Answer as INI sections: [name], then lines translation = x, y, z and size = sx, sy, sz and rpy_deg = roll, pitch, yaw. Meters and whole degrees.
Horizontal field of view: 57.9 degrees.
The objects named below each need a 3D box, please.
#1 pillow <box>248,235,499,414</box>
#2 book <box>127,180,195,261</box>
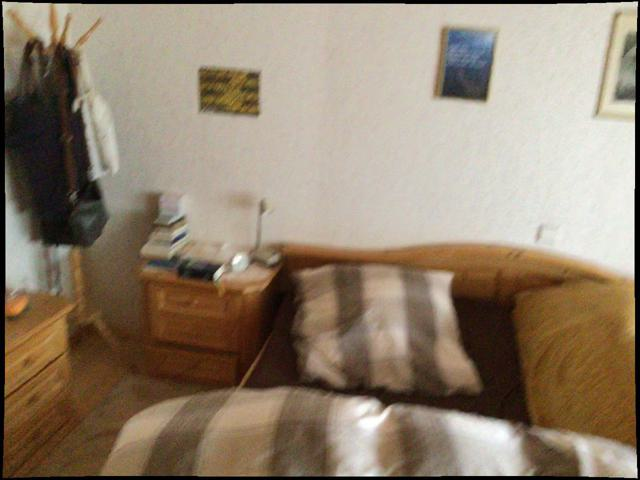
[pillow]
translation = 0.240, 0.280, 2.340
size = 0.839, 0.270, 0.800
rpy_deg = 7, 20, 10
[book]
translation = -0.769, -0.100, 2.830
size = 0.230, 0.320, 0.230
rpy_deg = 7, 20, 10
